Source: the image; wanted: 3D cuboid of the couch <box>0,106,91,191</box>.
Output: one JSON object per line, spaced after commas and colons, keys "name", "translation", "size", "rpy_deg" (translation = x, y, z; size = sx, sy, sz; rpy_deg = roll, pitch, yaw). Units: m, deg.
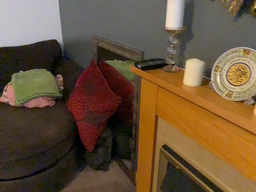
{"name": "couch", "translation": [-0.770, 0.470, 1.590], "size": [0.810, 0.460, 0.510], "rpy_deg": [-13, 28, -29]}
